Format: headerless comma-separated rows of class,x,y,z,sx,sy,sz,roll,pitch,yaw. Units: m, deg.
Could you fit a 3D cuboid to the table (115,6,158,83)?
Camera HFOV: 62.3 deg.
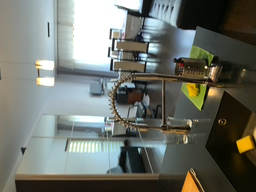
table,0.160,-1.430,5.870,0.960,0.790,1.840,-108,24,-64

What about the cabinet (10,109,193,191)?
cabinet,-0.400,0.950,3.590,1.510,2.400,0.650,-106,23,-63

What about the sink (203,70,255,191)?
sink,0.560,0.180,0.870,0.410,0.210,0.440,-107,23,-63
